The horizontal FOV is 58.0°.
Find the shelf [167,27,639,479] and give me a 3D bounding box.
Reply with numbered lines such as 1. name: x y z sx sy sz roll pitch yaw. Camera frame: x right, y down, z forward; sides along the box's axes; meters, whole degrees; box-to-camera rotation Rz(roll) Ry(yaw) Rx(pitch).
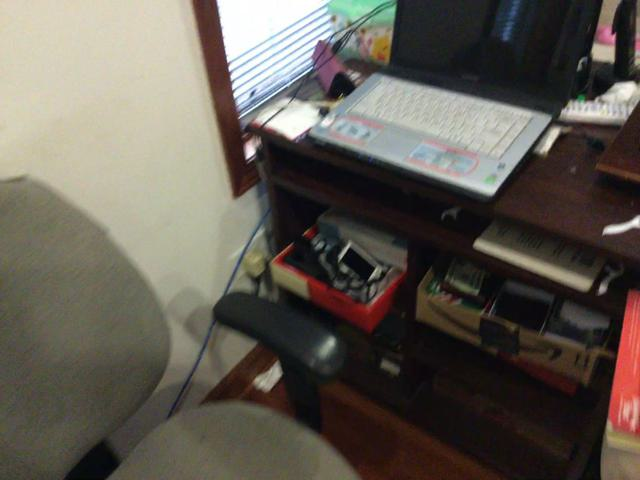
1. shelf: 0.240 0.060 1.240 0.870 0.800 0.430 18 46 29

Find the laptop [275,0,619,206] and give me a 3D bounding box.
1. laptop: 0.210 -0.330 0.970 0.410 0.290 0.360 26 50 35
